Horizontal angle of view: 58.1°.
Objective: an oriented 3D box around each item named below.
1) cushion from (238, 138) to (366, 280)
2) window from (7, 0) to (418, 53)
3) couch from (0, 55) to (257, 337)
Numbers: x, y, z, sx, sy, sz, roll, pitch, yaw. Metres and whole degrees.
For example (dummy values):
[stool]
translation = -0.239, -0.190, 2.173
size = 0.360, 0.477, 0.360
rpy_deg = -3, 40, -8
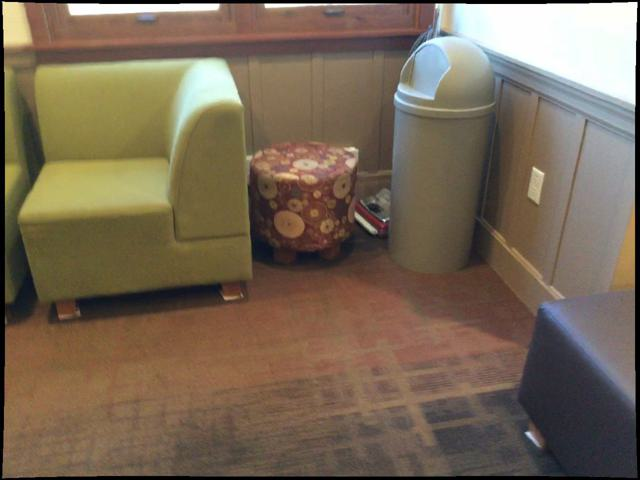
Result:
[cushion]
translation = -0.090, -0.150, 2.520
size = 0.459, 0.421, 0.450
rpy_deg = -7, 29, -11
[window]
translation = -0.419, -1.113, 2.530
size = 1.746, 0.431, 0.160
rpy_deg = -7, 29, -11
[couch]
translation = -0.758, -0.241, 2.340
size = 0.848, 0.782, 0.850
rpy_deg = -7, 29, -11
